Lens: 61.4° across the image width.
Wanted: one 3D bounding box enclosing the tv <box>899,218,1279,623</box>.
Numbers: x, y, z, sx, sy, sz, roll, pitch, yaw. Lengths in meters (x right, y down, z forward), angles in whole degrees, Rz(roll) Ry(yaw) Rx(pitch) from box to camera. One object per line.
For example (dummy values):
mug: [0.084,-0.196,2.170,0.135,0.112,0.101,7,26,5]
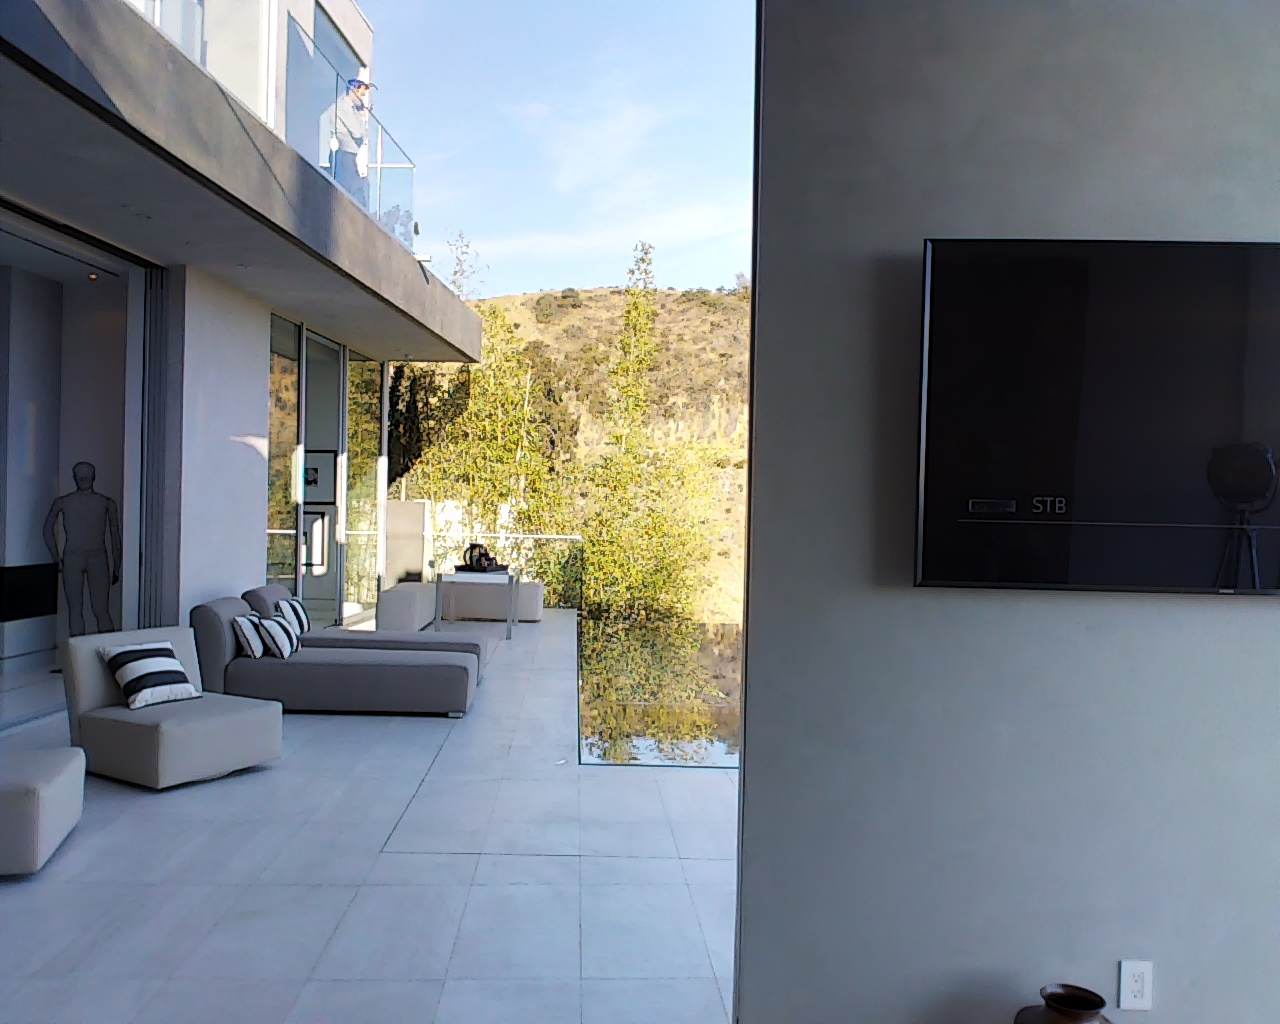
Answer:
tv: [1.410,-0.210,2.570,1.520,0.930,0.160,1,1,3]
